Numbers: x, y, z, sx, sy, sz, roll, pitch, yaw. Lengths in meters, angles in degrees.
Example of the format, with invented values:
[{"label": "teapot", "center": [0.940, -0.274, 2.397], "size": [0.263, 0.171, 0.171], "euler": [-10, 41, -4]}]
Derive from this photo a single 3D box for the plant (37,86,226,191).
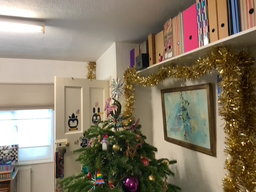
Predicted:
[{"label": "plant", "center": [-0.110, 0.820, 1.940], "size": [1.260, 1.700, 1.330], "euler": [0, -2, -21]}]
